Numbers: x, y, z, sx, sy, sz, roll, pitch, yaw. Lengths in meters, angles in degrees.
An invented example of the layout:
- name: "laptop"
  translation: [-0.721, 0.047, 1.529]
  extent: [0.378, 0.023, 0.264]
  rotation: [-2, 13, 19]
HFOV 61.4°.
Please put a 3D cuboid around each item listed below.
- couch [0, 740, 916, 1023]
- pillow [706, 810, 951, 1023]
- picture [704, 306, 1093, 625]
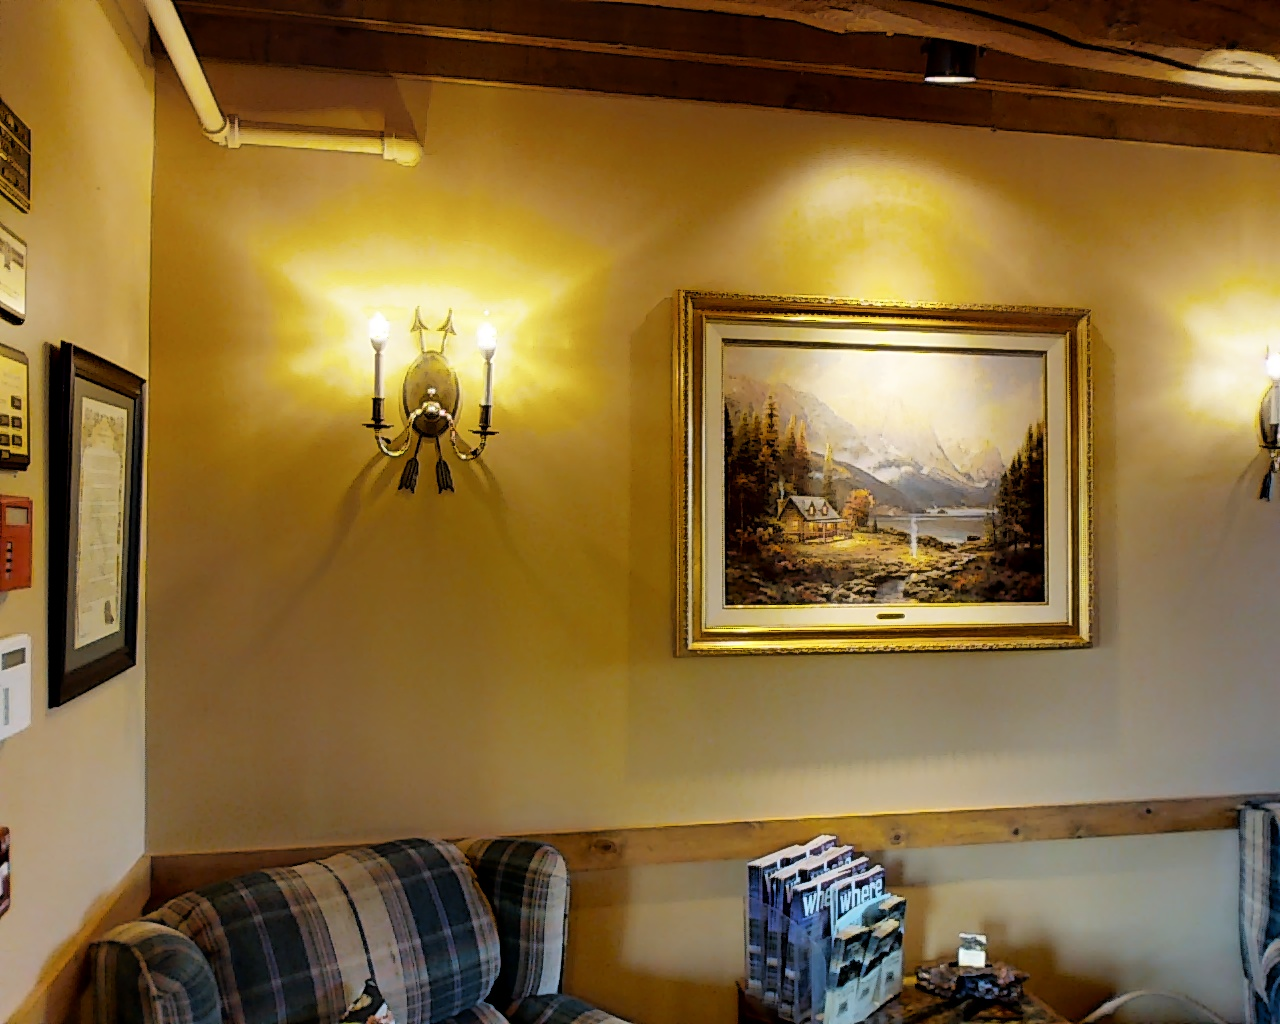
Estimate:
- name: "couch"
  translation: [-0.310, 1.020, 1.840]
  extent: [1.030, 0.950, 1.240]
  rotation: [-1, -2, 45]
- name: "pillow"
  translation: [0.440, 0.920, 2.500]
  extent: [0.440, 0.310, 0.370]
  rotation: [1, -2, -45]
- name: "picture"
  translation: [0.660, -0.110, 2.700]
  extent: [1.010, 0.760, 0.070]
  rotation: [0, -1, -12]
